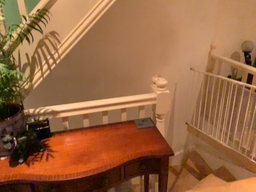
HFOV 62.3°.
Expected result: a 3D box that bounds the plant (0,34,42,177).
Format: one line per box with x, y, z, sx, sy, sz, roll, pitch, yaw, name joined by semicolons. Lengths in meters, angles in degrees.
-0.720;0.030;1.060;0.390;0.580;0.460;-7;24;-12;plant
